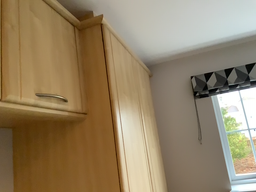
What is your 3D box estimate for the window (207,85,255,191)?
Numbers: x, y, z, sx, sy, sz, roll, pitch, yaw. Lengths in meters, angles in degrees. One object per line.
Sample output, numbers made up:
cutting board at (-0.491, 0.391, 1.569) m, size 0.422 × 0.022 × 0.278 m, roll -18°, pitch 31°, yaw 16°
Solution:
window at (1.720, 0.280, 1.880) m, size 1.770 × 0.940 × 0.090 m, roll -11°, pitch -12°, yaw 14°
